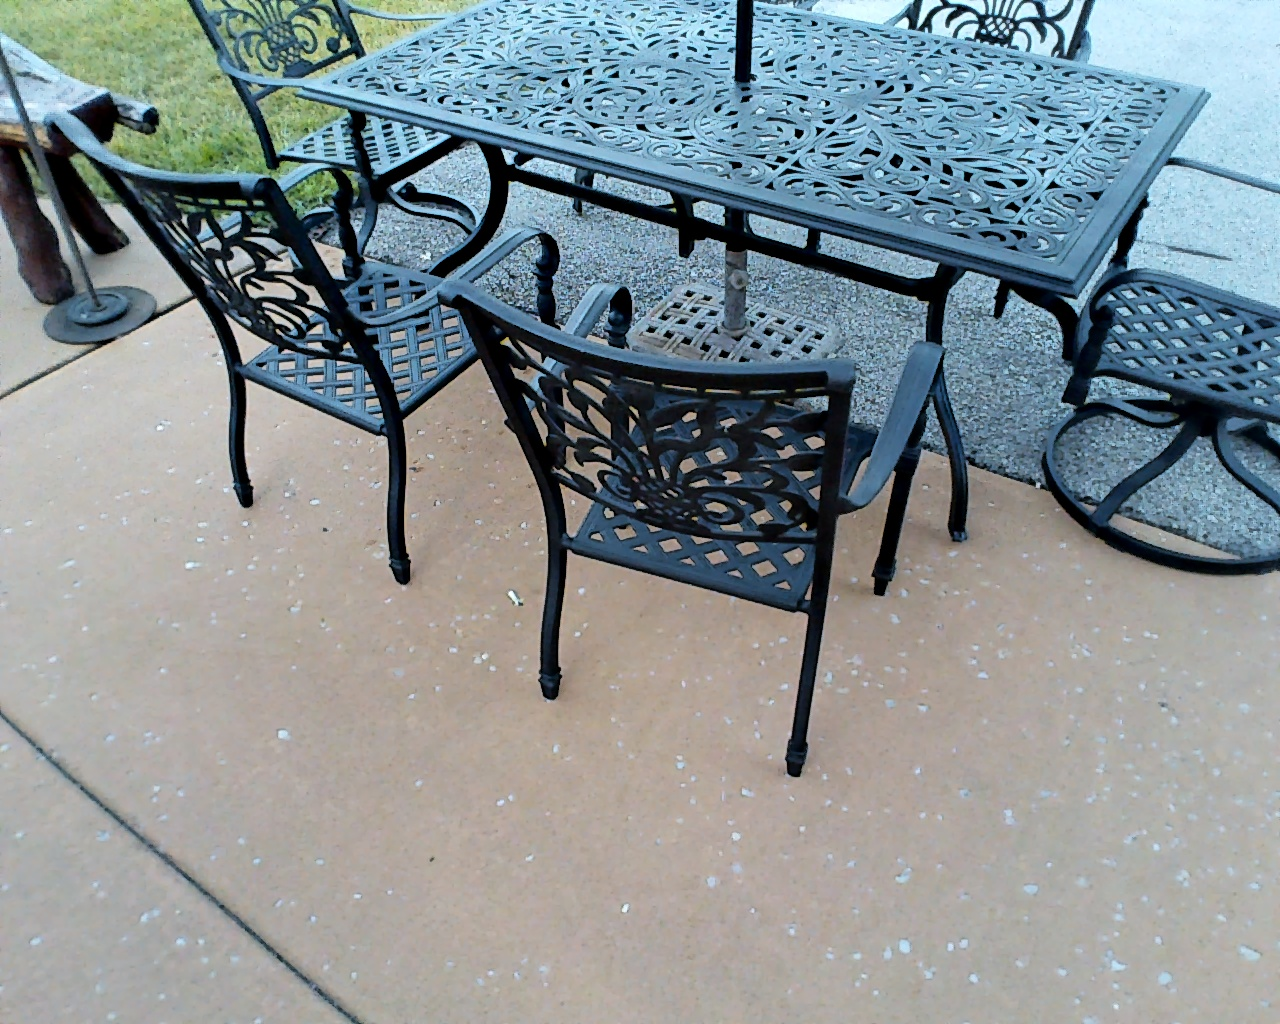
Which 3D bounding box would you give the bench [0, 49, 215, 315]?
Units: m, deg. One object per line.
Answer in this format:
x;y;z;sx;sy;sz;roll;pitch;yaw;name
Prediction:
-2.170;-1.050;3.240;1.550;0.540;0.500;10;41;13;bench
